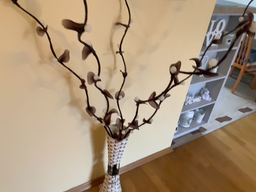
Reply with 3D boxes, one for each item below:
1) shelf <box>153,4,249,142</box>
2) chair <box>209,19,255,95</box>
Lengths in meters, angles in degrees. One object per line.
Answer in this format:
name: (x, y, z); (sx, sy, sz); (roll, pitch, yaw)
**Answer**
shelf: (0.590, -0.160, 1.860); (0.550, 1.170, 0.170); (-14, 38, -32)
chair: (1.630, -0.560, 3.020); (0.460, 0.910, 0.470); (-14, 38, -32)
